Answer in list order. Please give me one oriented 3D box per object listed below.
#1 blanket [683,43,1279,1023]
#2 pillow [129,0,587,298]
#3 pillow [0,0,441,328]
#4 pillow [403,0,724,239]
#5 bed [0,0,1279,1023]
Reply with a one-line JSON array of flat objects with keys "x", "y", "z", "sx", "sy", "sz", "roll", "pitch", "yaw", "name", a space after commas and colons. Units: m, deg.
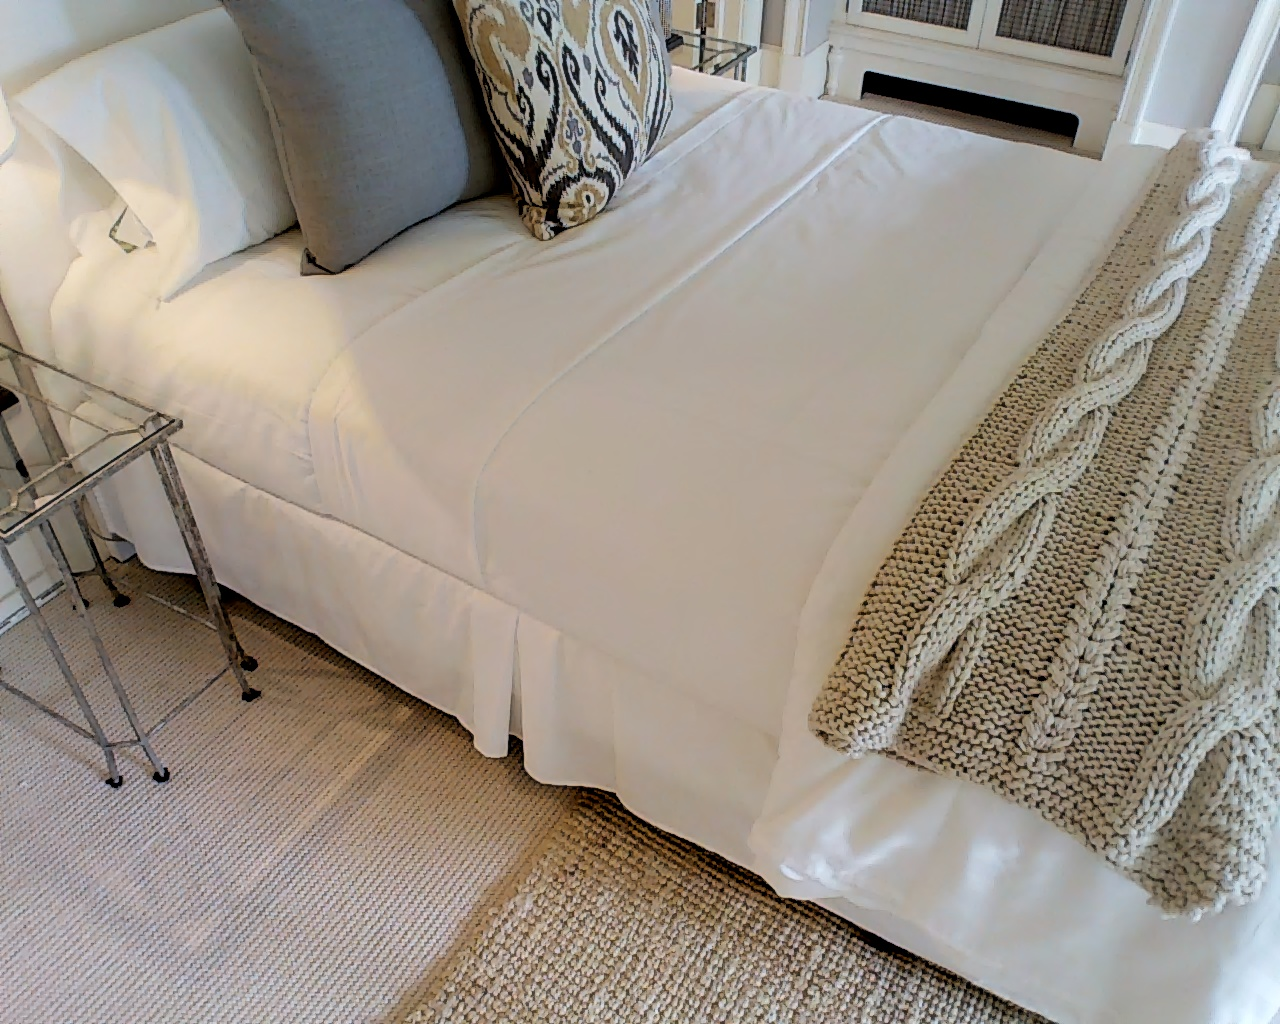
[{"x": 0.830, "y": -0.150, "z": 1.710, "sx": 0.620, "sy": 0.510, "sz": 1.910, "roll": 23, "pitch": 47, "yaw": 23, "name": "blanket"}, {"x": -0.440, "y": -0.770, "z": 1.860, "sx": 0.240, "sy": 0.510, "sz": 0.590, "roll": 12, "pitch": 58, "yaw": 37, "name": "pillow"}, {"x": -0.700, "y": -0.690, "z": 1.880, "sx": 0.230, "sy": 0.420, "sz": 0.590, "roll": 12, "pitch": 59, "yaw": 37, "name": "pillow"}, {"x": -0.110, "y": -0.890, "z": 1.990, "sx": 0.260, "sy": 0.510, "sz": 0.570, "roll": 6, "pitch": 50, "yaw": 26, "name": "pillow"}, {"x": 0.410, "y": -0.230, "z": 2.000, "sx": 2.640, "sy": 0.860, "sz": 1.980, "roll": 22, "pitch": 46, "yaw": 22, "name": "bed"}]
